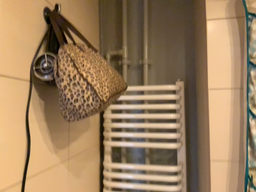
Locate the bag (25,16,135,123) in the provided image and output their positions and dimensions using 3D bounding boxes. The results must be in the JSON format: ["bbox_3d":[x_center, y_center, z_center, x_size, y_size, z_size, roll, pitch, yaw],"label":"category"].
[{"bbox_3d":[-0.110,-0.050,0.690,0.200,0.240,0.400,-1,-3,11],"label":"bag"}]

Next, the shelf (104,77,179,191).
[{"bbox_3d":[0.070,0.280,1.040,0.340,0.720,0.170,-1,-3,12],"label":"shelf"}]
